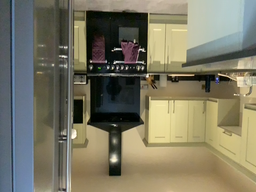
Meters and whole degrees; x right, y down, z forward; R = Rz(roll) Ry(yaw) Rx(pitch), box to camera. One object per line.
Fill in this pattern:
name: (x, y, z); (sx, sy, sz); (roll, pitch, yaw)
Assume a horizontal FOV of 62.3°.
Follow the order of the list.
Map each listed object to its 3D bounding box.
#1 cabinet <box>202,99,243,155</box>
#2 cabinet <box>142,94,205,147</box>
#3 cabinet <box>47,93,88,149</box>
cabinet: (1.500, 0.480, 3.390); (0.470, 0.840, 0.290); (1, -175, -5)
cabinet: (0.760, 0.410, 3.670); (0.960, 0.830, 0.390); (1, -175, -4)
cabinet: (-0.990, 0.400, 3.560); (0.590, 0.870, 0.380); (1, -175, -4)
